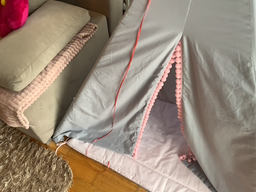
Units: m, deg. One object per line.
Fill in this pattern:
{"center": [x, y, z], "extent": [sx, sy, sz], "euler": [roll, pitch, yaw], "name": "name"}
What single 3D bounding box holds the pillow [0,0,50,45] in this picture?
{"center": [-0.660, -0.490, 1.100], "extent": [0.380, 0.260, 0.210], "euler": [24, 57, 16], "name": "pillow"}
